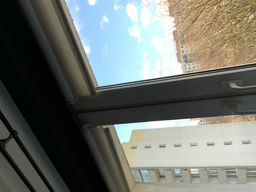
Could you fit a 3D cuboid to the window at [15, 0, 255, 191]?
[{"bbox_3d":[0.460,0.030,0.820,0.110,1.520,1.560,-65,-36,-58],"label":"window"}]
